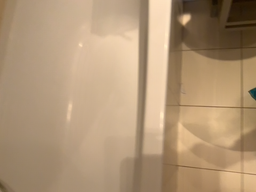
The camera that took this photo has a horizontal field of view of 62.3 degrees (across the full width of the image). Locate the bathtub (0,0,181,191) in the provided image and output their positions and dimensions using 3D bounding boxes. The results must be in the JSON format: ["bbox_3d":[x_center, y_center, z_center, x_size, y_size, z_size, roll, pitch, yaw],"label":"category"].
[{"bbox_3d":[-0.200,-0.090,1.070,0.860,0.560,1.880,1,80,17],"label":"bathtub"}]
